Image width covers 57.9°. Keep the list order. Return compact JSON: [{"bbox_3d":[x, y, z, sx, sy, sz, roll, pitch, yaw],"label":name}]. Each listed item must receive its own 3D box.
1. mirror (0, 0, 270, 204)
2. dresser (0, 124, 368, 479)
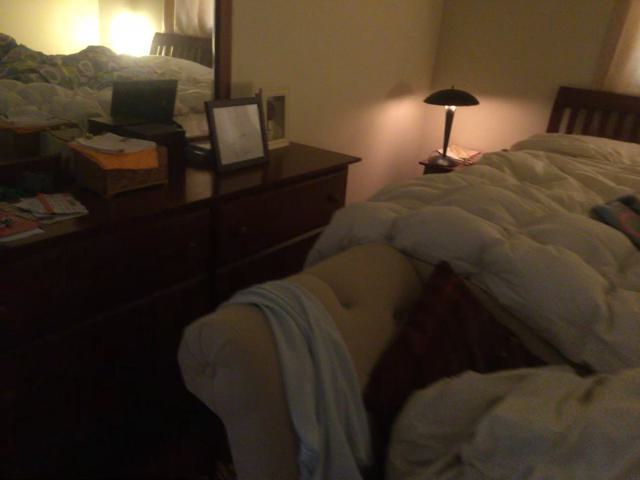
[{"bbox_3d":[-0.600,-0.570,1.850,0.290,0.660,1.030,15,23,31],"label":"mirror"},{"bbox_3d":[-0.530,0.160,1.990,0.580,0.870,1.670,15,23,31],"label":"dresser"}]
